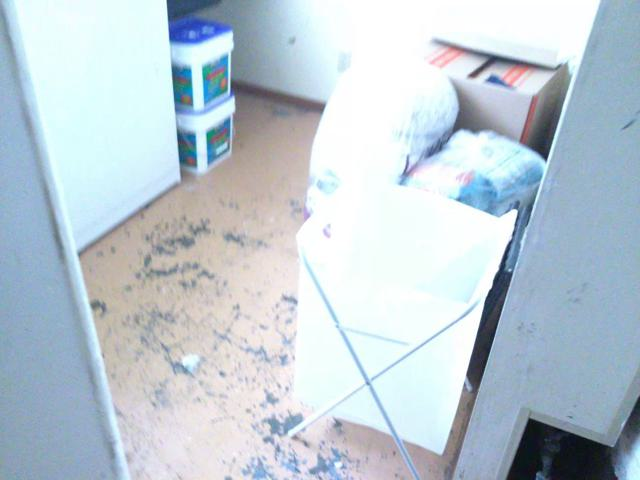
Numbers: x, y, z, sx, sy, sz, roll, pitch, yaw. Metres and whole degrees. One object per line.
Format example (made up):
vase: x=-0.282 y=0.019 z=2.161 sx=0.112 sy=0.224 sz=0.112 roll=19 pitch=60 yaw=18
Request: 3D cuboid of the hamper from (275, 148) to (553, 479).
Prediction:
hamper: x=0.220 y=0.200 z=1.460 sx=0.480 sy=0.640 sz=0.480 roll=18 pitch=35 yaw=21
